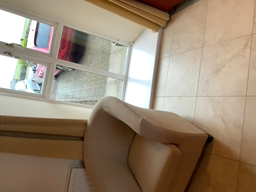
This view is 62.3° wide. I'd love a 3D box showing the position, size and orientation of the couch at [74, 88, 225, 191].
[{"bbox_3d":[0.110,0.470,1.810,0.770,0.810,0.730,40,115,58],"label":"couch"}]
